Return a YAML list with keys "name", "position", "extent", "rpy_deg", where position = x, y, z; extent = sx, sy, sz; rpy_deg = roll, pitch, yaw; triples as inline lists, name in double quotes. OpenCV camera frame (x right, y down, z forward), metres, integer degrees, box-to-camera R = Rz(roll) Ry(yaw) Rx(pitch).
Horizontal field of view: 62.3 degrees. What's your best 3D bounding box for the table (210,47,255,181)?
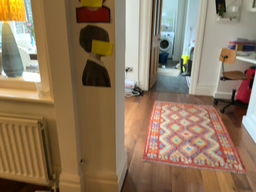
- name: "table"
  position: [1.620, -0.020, 2.610]
  extent: [0.720, 0.820, 2.220]
  rpy_deg: [5, 21, 10]
